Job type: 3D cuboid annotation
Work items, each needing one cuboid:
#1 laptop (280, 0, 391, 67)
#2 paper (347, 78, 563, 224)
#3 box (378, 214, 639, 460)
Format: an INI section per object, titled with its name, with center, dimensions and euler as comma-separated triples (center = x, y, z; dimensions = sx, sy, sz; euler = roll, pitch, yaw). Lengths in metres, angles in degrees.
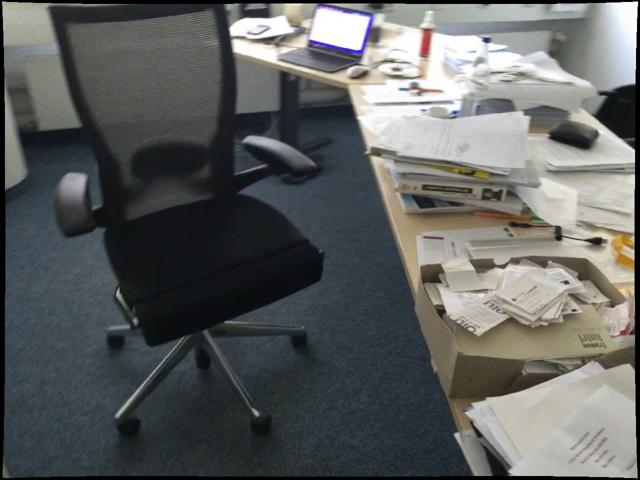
[laptop]
center = 0.060, -0.891, 2.420
dimensions = 0.270, 0.190, 0.370
euler = -28, 44, -35
[paper]
center = 0.310, -0.240, 1.450
dimensions = 0.380, 0.180, 0.370
euler = -9, 36, -14
[box]
center = 0.330, 0.130, 0.950
dimensions = 0.360, 0.140, 0.340
euler = -9, 36, -14
